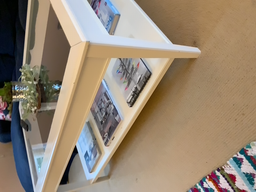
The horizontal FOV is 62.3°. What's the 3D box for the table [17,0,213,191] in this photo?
[{"bbox_3d":[-0.290,-0.040,1.250,0.810,0.480,1.230,60,137,33],"label":"table"}]
